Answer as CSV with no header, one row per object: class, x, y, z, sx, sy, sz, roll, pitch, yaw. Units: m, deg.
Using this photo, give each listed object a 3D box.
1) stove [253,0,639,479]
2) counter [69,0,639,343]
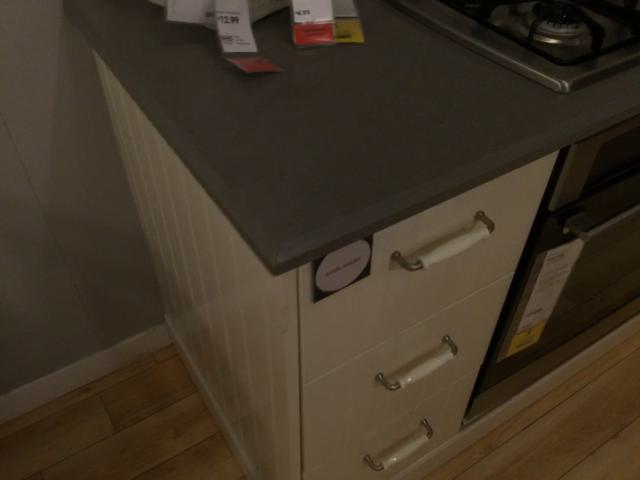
stove,0.480,-0.110,1.250,0.970,1.010,0.670,-23,47,-22
counter,0.450,-0.450,0.970,1.550,0.210,0.650,-23,47,-22
